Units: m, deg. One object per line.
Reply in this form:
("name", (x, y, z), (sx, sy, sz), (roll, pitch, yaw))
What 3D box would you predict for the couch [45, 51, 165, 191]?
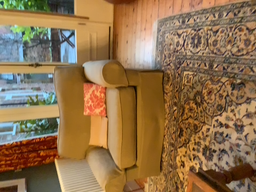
("couch", (-0.340, 0.180, 2.310), (1.140, 0.930, 1.240), (-159, 68, -63))
